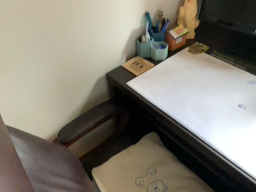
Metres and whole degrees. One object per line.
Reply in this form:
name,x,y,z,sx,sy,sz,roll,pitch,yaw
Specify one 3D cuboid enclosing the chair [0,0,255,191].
chair,-0.010,0.300,0.720,0.660,1.110,0.690,-32,50,-25
